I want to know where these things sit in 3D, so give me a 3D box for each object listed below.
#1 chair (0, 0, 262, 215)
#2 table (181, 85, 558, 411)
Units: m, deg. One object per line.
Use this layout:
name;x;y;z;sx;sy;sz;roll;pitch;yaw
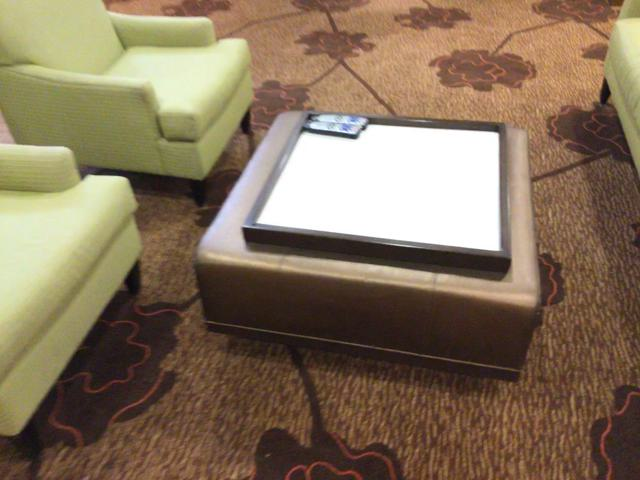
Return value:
chair;-0.820;-0.730;2.350;0.920;0.910;0.720;7;43;10
table;0.190;-0.040;1.870;0.910;0.480;0.890;7;43;10
